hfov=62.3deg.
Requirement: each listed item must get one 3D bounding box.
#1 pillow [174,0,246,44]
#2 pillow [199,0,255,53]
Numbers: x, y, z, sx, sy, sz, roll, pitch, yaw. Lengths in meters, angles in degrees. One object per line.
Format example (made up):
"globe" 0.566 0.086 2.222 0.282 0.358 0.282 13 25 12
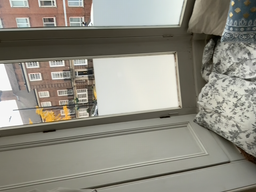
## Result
"pillow" 0.550 -0.600 1.430 0.410 0.250 0.110 -46 18 28
"pillow" 0.710 -0.540 1.300 0.460 0.260 0.250 -64 17 8
